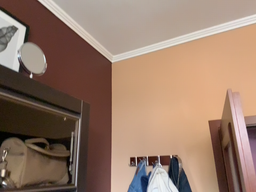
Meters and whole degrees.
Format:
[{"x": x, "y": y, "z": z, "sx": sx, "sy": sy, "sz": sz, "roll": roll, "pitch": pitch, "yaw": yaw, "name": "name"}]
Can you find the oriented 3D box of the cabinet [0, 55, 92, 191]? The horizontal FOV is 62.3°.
[{"x": -0.670, "y": 0.060, "z": 0.580, "sx": 0.310, "sy": 0.490, "sz": 1.480, "roll": -10, "pitch": -21, "yaw": 25, "name": "cabinet"}]
